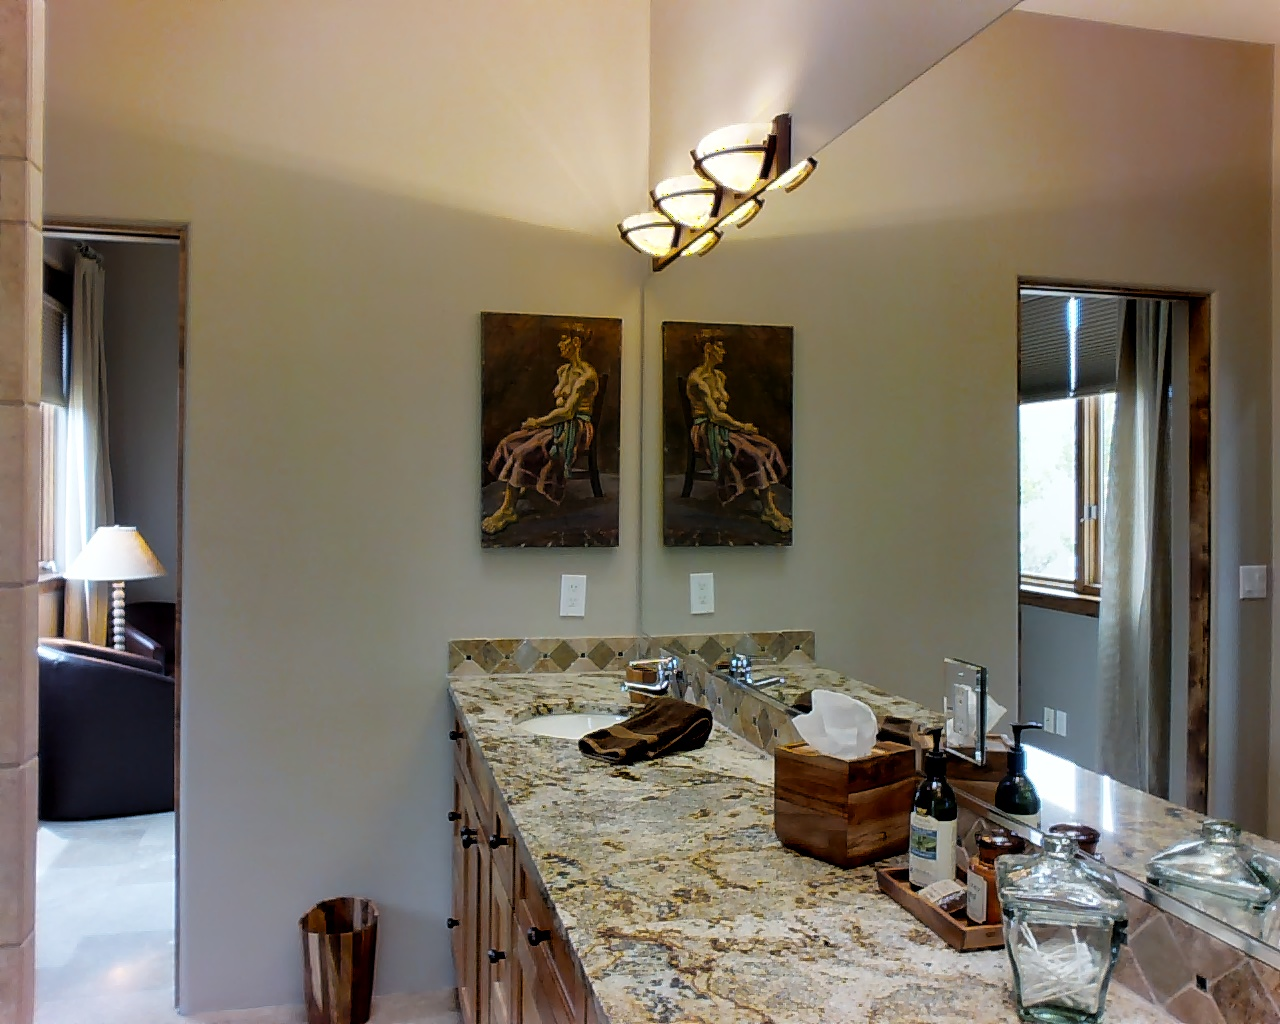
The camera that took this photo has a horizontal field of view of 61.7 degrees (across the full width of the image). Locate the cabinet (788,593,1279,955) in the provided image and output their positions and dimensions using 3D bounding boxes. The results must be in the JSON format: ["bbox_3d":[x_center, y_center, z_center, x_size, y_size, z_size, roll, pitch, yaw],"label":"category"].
[{"bbox_3d":[1.750,0.990,5.330,0.580,0.850,3.680,1,1,-15],"label":"cabinet"}]
